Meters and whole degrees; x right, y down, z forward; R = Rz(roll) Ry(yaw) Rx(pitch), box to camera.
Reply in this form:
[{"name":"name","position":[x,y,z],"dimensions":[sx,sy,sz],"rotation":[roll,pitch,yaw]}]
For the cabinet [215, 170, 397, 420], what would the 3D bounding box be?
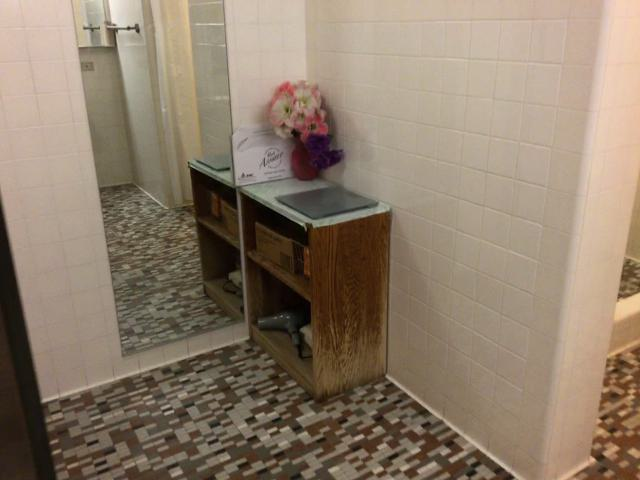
[{"name":"cabinet","position":[-0.070,0.180,2.420],"dimensions":[0.480,0.780,0.620],"rotation":[-13,23,-28]}]
